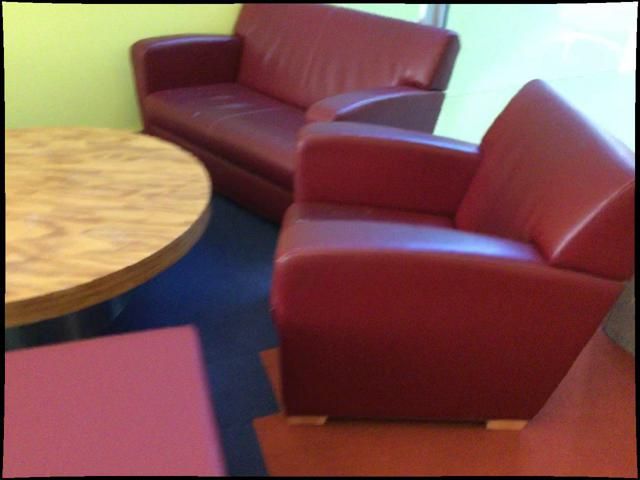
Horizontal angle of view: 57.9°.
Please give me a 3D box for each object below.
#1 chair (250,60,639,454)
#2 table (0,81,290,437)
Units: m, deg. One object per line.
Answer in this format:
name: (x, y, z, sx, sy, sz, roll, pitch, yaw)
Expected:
chair: (0.340, 0.000, 1.710, 0.929, 0.781, 0.860, 2, 34, 2)
table: (-0.929, -0.030, 1.900, 1.219, 0.440, 1.180, -20, 39, -27)
